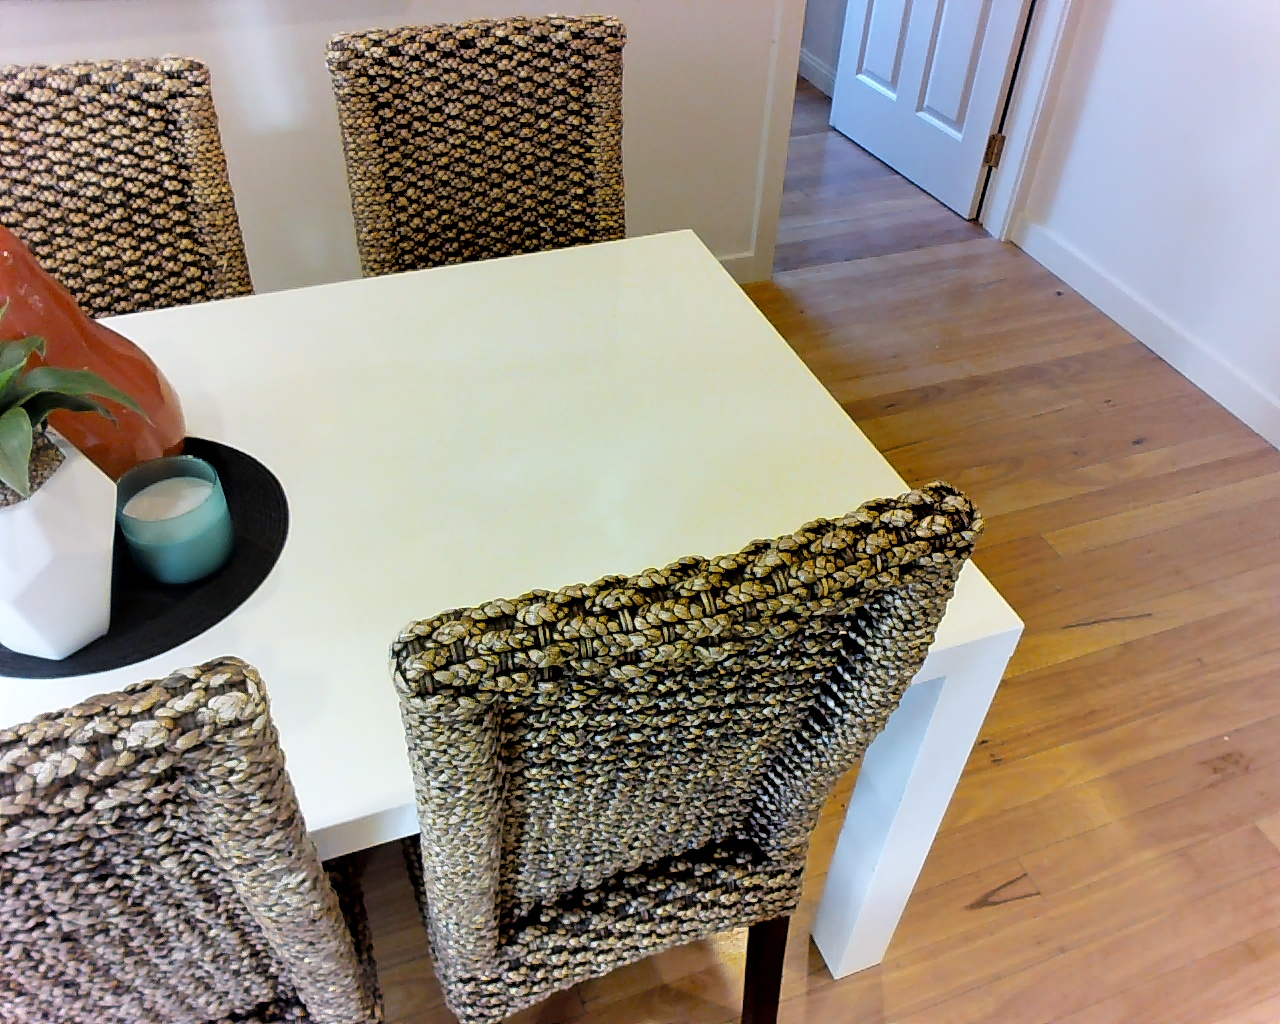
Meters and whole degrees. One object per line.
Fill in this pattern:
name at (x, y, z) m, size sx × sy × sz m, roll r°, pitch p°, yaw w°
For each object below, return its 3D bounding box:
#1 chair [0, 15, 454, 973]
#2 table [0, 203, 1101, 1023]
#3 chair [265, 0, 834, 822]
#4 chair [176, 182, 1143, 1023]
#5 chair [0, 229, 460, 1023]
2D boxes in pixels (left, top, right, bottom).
chair at (-0.700, -0.010, 1.510) m, size 0.620 × 1.070 × 0.640 m, roll -15°, pitch 44°, yaw -19°
table at (-0.610, 0.300, 1.410) m, size 1.870 × 0.780 × 1.030 m, roll -13°, pitch 44°, yaw -17°
chair at (-0.170, -0.160, 1.690) m, size 0.540 × 1.090 × 0.640 m, roll -13°, pitch 44°, yaw -17°
chair at (-0.050, 0.290, 1.210) m, size 0.610 × 1.070 × 0.560 m, roll -13°, pitch 44°, yaw -17°
chair at (-0.520, 0.390, 1.070) m, size 0.540 × 1.080 × 0.600 m, roll -15°, pitch 44°, yaw -19°
